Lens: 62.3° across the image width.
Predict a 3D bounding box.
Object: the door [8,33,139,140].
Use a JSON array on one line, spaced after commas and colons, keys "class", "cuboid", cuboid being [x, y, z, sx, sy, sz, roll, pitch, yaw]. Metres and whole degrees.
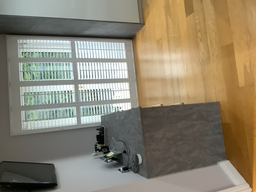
[{"class": "door", "cuboid": [-0.850, -0.210, 3.660, 0.080, 2.080, 1.650, 164, 102, -68]}]
